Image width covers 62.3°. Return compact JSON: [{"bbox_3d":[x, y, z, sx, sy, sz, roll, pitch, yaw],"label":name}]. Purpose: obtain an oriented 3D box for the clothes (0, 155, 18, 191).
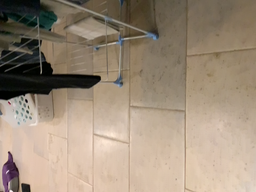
[{"bbox_3d":[-2.140,1.450,3.740,0.620,0.140,0.620,12,100,43],"label":"clothes"}]
